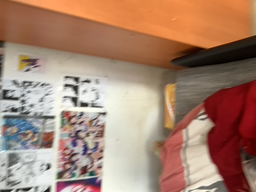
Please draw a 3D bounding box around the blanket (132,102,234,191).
[{"bbox_3d":[0.250,0.530,1.240,0.490,0.210,0.910,18,102,61],"label":"blanket"}]
